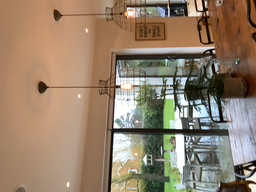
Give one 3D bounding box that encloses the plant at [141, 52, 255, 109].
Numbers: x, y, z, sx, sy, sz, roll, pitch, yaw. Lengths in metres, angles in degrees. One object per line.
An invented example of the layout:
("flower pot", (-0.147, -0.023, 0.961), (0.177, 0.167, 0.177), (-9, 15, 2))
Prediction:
("plant", (0.610, -0.140, 2.100), (0.470, 0.960, 0.390), (84, -173, -67))
